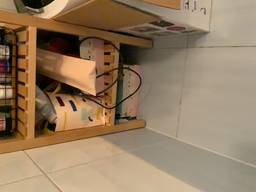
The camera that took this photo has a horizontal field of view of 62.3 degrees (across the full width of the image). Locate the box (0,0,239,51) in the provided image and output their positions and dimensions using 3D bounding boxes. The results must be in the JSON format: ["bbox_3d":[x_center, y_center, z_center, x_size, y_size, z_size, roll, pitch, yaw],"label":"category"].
[{"bbox_3d":[-0.070,-0.450,0.740,0.690,0.560,0.510,13,101,47],"label":"box"}]
